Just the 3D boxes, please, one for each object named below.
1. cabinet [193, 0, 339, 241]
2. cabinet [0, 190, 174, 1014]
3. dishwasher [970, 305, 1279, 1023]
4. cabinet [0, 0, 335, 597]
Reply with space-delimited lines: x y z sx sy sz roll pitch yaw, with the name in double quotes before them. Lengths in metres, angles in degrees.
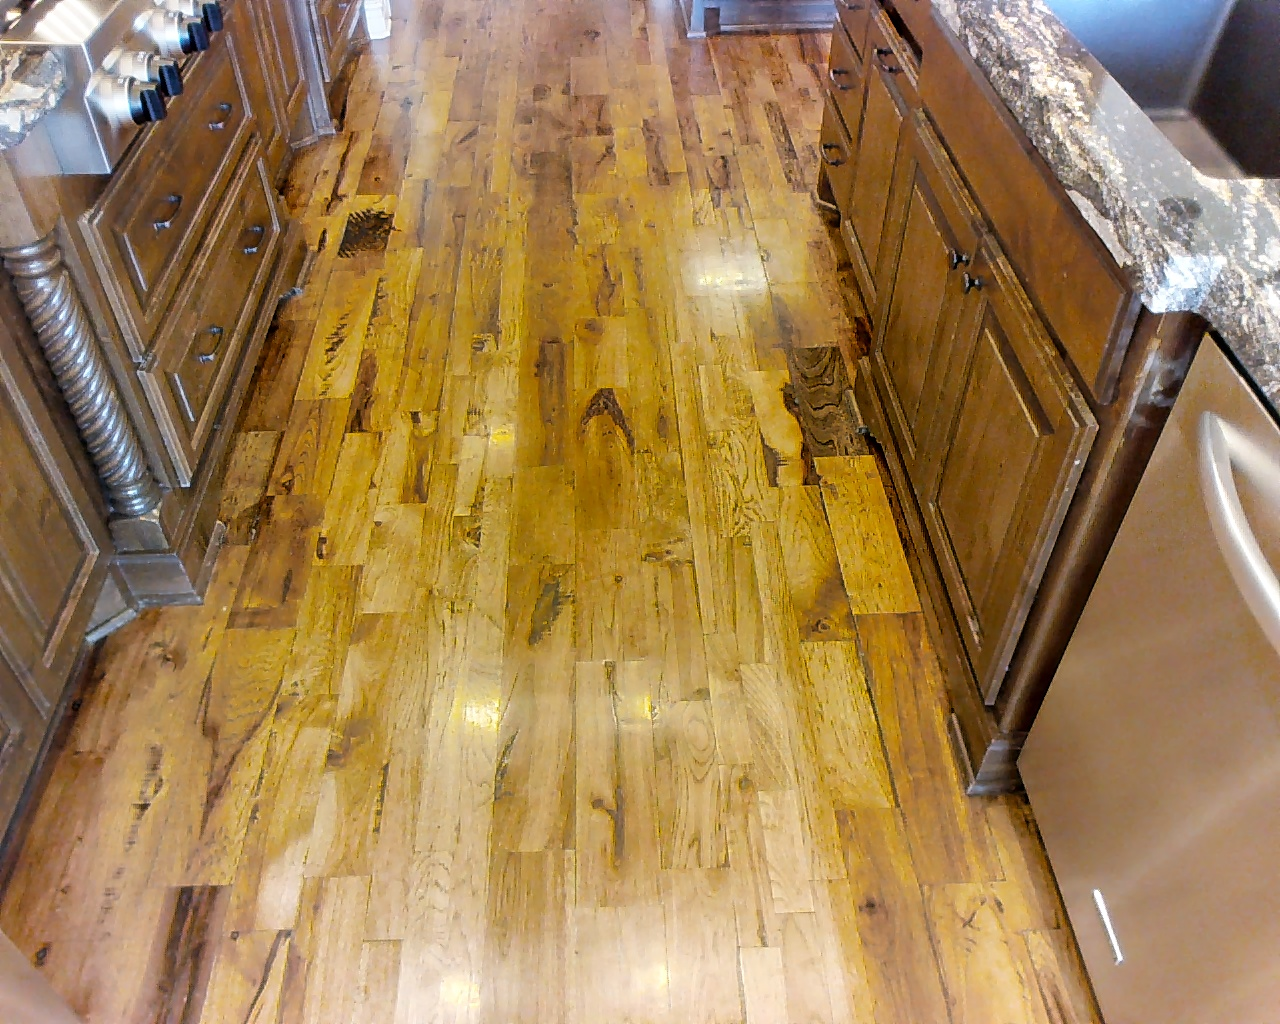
"cabinet" -0.990 -1.290 2.850 0.090 0.840 0.750 -2 44 -1
"cabinet" -0.900 0.090 1.420 0.090 0.840 0.800 -2 44 -1
"dishwasher" 0.570 0.320 1.140 0.090 0.840 0.650 -2 44 -2
"cabinet" -0.870 -0.610 2.140 0.130 0.870 1.300 -2 44 -1
